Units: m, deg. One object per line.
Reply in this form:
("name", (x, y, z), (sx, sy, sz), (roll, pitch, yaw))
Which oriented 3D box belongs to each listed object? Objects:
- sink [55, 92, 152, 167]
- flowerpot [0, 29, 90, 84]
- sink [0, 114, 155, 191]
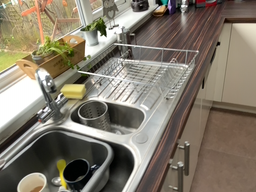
("sink", (-0.090, 0.120, 0.860), (0.320, 0.150, 0.180), (10, 39, 25))
("flowerpot", (-0.410, -0.220, 1.090), (0.280, 0.130, 0.320), (9, 39, 24))
("sink", (-0.220, 0.290, 0.670), (0.500, 0.170, 0.380), (10, 39, 25))
